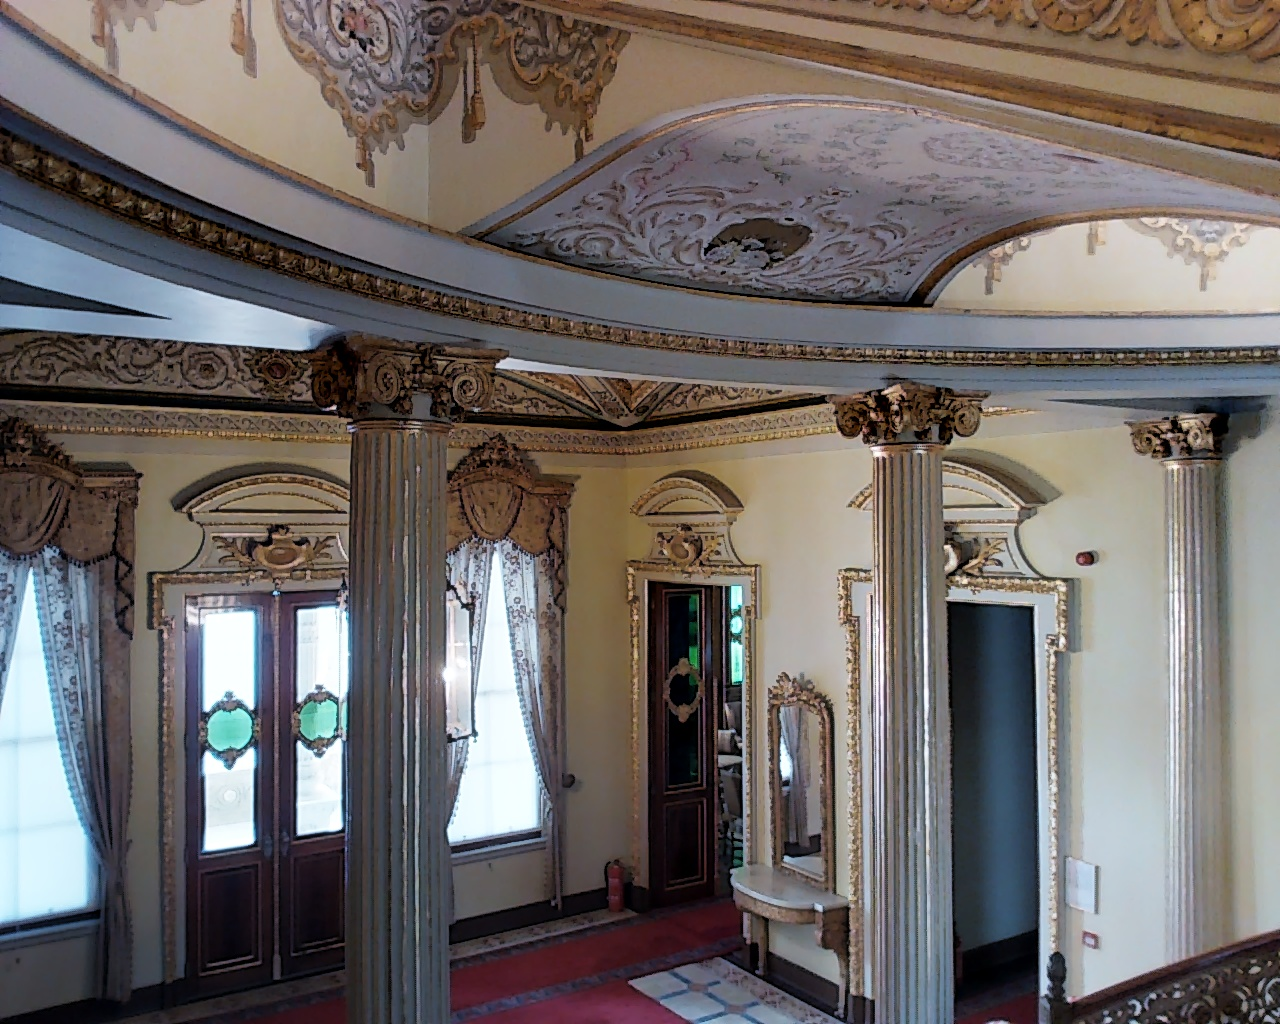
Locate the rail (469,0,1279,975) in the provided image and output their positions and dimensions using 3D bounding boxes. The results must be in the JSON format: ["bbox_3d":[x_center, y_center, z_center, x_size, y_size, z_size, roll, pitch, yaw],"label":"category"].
[{"bbox_3d":[0.790,-0.900,1.730,0.330,2.991,4.489,1,-1,-33],"label":"rail"}]
